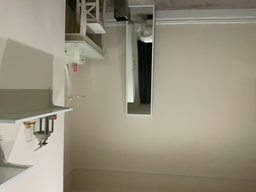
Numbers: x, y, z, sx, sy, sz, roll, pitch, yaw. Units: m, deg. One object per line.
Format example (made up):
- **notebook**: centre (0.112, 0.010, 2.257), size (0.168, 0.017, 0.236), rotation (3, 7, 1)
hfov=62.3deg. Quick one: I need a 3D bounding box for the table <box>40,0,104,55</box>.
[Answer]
- **table**: centre (-0.670, -0.990, 2.820), size (0.480, 0.710, 1.040), rotation (1, -178, 6)
